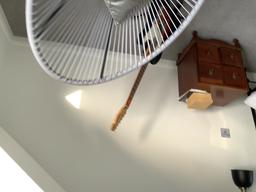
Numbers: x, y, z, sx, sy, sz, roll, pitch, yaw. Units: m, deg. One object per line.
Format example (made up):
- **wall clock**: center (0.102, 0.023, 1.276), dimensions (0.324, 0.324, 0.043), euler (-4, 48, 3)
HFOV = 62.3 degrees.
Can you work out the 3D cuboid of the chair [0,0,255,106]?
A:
- **chair**: center (-0.040, -0.530, 0.960), dimensions (0.800, 0.810, 0.710), euler (-17, 148, 36)
